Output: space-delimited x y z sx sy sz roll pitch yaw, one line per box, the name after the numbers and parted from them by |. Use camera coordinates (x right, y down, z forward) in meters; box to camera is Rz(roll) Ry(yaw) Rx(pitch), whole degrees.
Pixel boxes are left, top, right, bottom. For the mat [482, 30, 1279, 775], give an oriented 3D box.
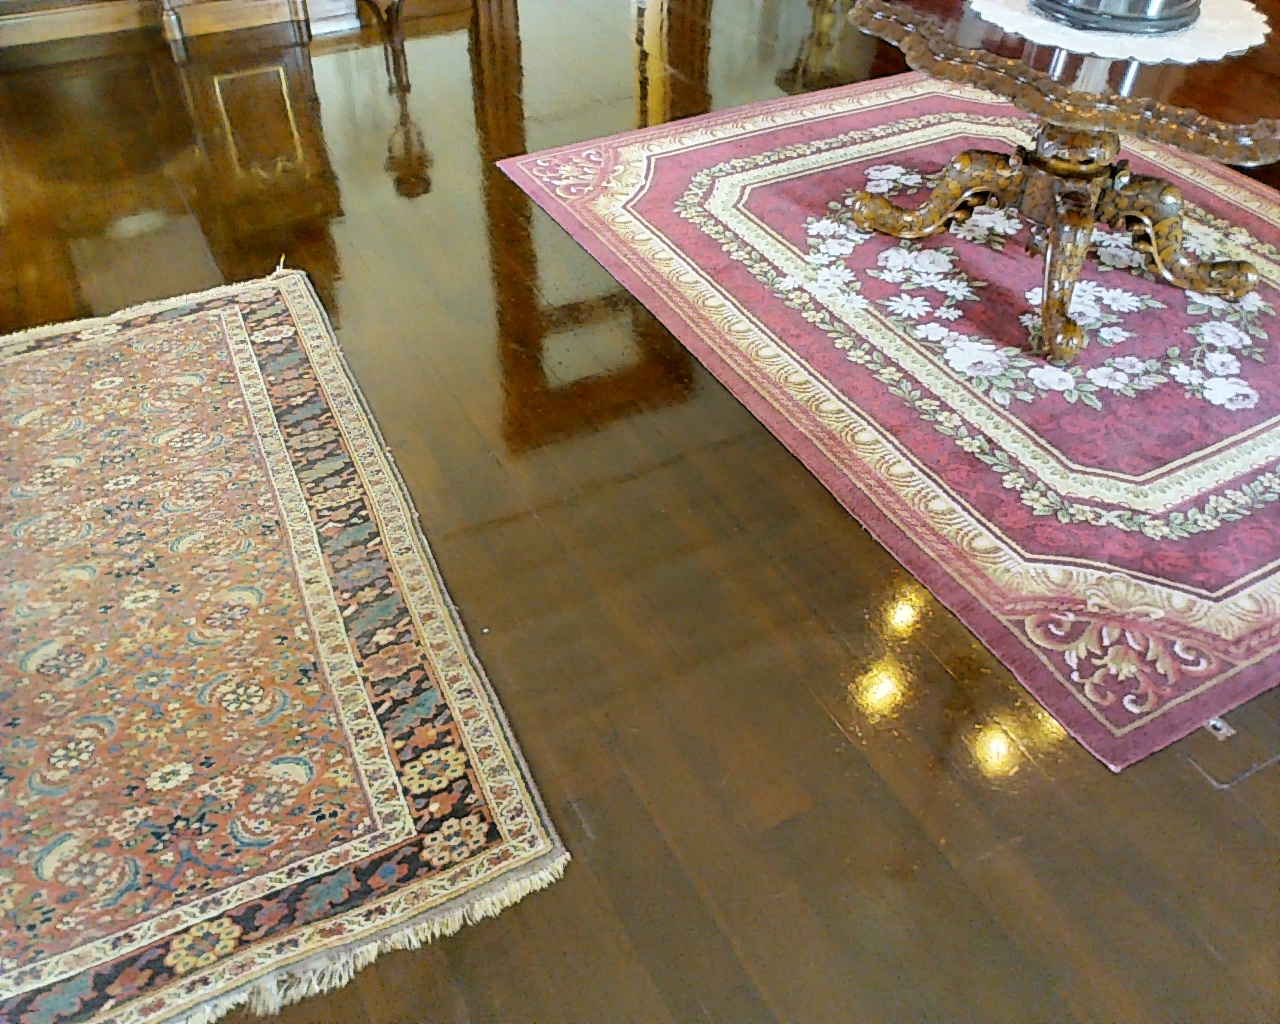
1.120 -0.770 3.120 2.250 0.070 2.850 -19 45 -20 | mat

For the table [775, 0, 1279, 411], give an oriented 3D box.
1.200 -1.050 2.900 1.340 0.700 1.560 -3 42 -4 | table
